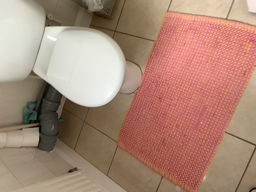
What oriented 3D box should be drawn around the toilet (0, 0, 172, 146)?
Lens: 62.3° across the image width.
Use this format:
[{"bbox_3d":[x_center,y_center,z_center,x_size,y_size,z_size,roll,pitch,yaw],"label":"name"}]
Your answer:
[{"bbox_3d":[-0.320,-0.190,1.100,0.720,0.770,0.510,25,99,32],"label":"toilet"}]
